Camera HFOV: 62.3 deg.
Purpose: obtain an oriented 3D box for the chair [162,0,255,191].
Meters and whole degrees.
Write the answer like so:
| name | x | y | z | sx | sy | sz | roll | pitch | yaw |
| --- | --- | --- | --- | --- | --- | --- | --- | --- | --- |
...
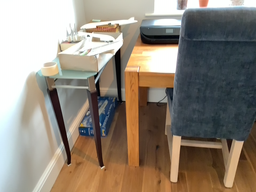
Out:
| name | x | y | z | sx | sy | sz | roll | pitch | yaw |
| --- | --- | --- | --- | --- | --- | --- | --- | --- | --- |
| chair | 0.460 | 0.020 | 1.260 | 0.440 | 1.090 | 0.630 | 3 | 31 | 7 |
